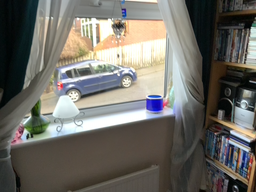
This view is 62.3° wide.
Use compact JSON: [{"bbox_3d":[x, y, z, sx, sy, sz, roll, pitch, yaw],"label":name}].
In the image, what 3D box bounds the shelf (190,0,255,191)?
[{"bbox_3d":[0.730,0.210,1.400,0.330,2.030,0.430,-6,17,-21],"label":"shelf"}]
